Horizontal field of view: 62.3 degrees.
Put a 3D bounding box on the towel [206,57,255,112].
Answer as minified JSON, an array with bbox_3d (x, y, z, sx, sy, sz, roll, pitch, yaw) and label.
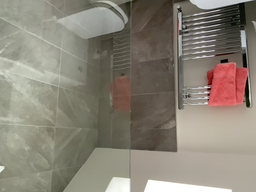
[{"bbox_3d":[0.710,-0.070,1.490,0.280,0.350,0.120,-3,169,24],"label":"towel"}]
